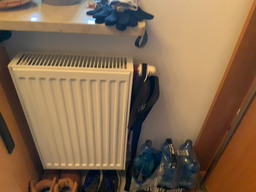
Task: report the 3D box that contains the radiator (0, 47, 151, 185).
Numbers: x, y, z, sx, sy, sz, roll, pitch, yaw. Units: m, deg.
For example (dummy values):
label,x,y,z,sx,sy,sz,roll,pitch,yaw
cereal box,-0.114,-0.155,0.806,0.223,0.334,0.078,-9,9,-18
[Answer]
label,x,y,z,sx,sy,sz,roll,pitch,yaw
radiator,-0.210,0.150,0.940,0.510,0.720,0.120,1,40,-5

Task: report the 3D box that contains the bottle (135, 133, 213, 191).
label,x,y,z,sx,sy,sz,roll,pitch,yaw
bottle,0.210,0.380,1.110,0.320,0.260,0.240,3,40,-3
